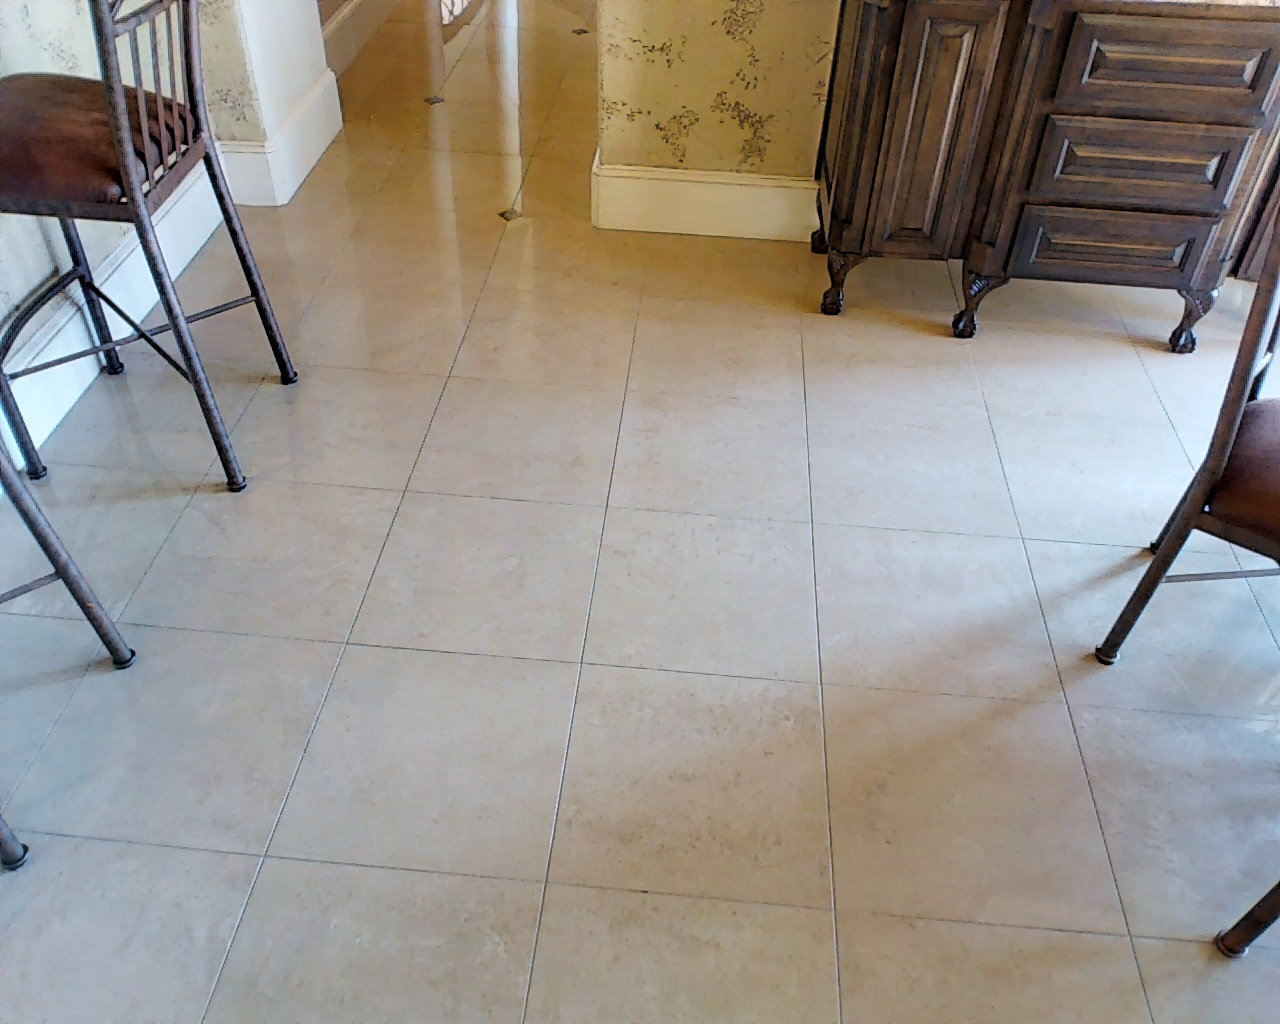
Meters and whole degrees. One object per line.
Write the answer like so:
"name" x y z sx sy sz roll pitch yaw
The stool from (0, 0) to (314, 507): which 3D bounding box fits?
"stool" -1.100 -0.620 2.170 0.530 1.120 0.510 5 41 3
